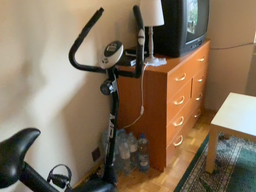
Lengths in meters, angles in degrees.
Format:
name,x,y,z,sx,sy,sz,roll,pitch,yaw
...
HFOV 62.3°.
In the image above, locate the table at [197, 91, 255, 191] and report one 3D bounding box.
name,x,y,z,sx,sy,sz,roll,pitch,yaw
table,0.940,0.340,1.640,0.580,0.460,0.570,15,33,34
